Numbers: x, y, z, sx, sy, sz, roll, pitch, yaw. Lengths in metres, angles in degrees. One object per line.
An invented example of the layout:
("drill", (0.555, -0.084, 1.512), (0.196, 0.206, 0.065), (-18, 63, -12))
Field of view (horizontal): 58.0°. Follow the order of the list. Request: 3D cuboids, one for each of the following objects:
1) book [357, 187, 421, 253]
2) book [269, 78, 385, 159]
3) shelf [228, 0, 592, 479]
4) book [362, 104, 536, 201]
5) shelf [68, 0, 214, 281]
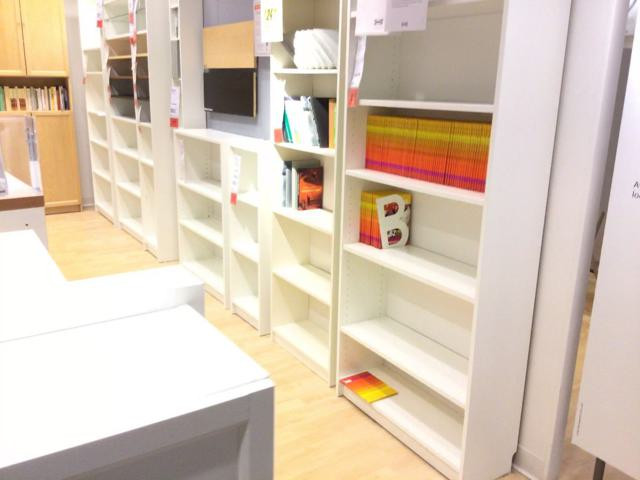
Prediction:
("book", (0.290, -0.090, 2.450), (0.190, 0.230, 0.170), (-7, 18, -31))
("book", (0.010, -0.580, 2.690), (0.240, 0.320, 0.610), (-7, 18, -31))
("shelf", (0.130, -0.190, 2.580), (0.330, 1.770, 1.900), (-7, 18, -31))
("book", (0.440, -0.350, 2.150), (0.170, 0.270, 0.700), (-7, 18, -31))
("shelf", (-1.680, -1.170, 5.110), (0.420, 2.290, 2.780), (-7, 18, -31))
